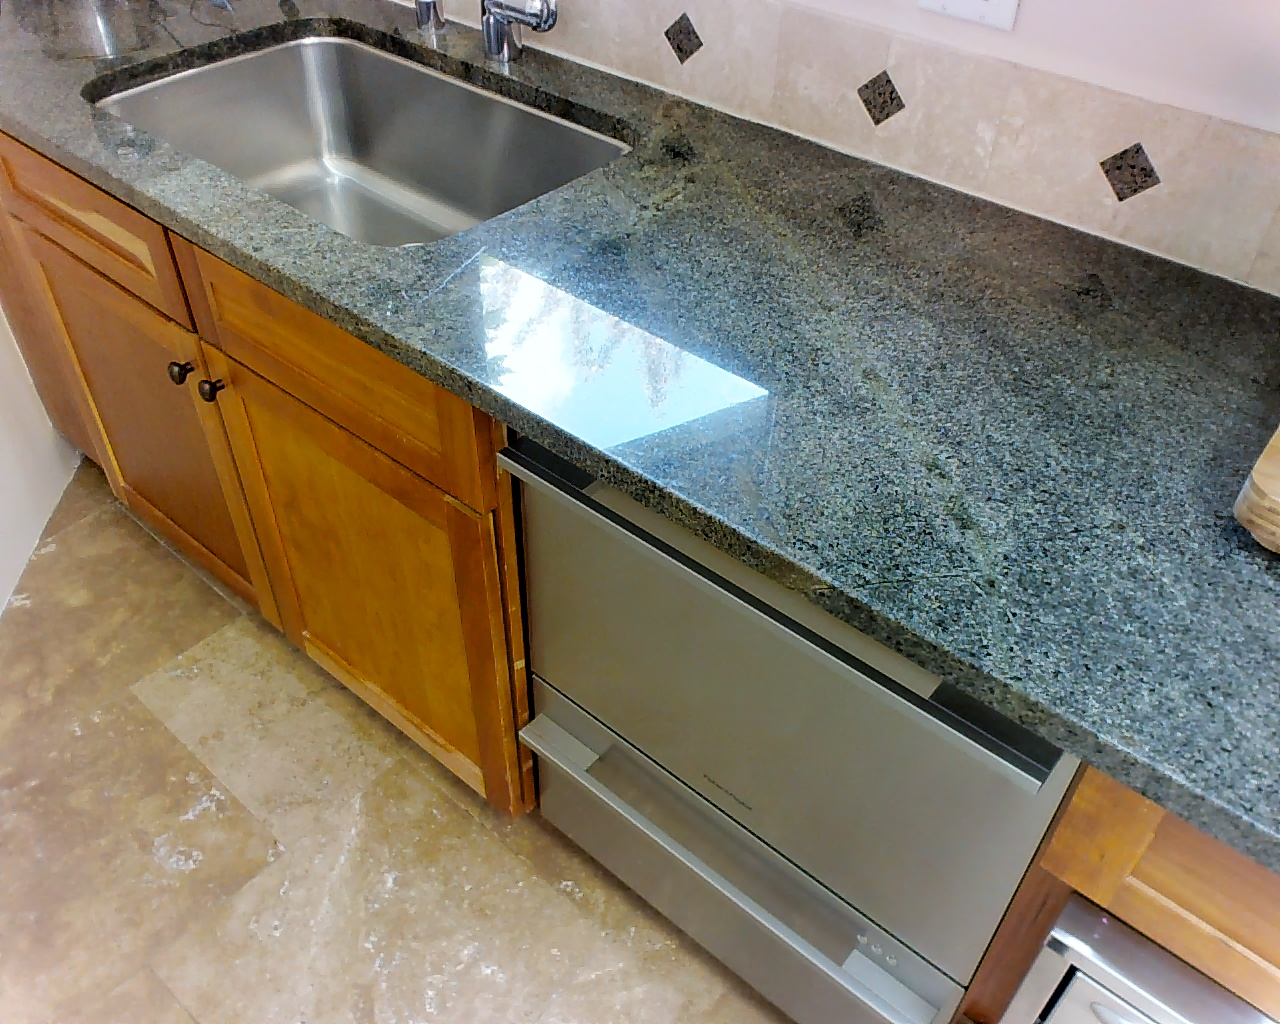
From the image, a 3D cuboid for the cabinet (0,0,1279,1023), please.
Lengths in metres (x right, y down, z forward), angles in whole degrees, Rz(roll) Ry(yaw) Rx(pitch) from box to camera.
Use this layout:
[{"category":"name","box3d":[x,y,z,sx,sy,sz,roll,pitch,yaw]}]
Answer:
[{"category":"cabinet","box3d":[0.390,0.250,1.210,3.610,0.950,0.740,30,49,28]}]
